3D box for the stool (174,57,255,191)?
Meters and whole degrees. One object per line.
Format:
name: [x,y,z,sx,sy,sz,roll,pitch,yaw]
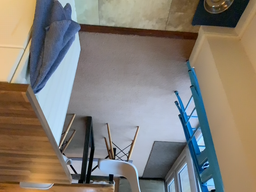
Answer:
stool: [0.650,0.230,1.560,0.410,1.010,0.430,2,143,-3]
